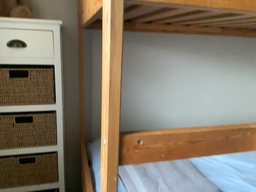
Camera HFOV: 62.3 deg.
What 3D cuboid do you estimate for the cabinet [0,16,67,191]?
[{"bbox_3d":[-0.550,0.180,1.180,0.370,1.140,0.340,-1,15,-14],"label":"cabinet"}]
